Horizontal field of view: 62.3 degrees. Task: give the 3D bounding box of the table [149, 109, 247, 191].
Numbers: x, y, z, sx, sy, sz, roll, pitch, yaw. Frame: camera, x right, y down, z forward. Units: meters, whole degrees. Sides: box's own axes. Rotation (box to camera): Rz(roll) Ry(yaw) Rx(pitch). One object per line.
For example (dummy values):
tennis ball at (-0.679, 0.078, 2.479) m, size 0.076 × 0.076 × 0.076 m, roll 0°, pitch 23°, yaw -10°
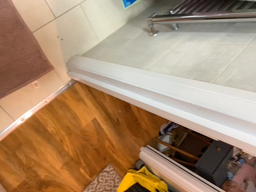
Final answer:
table at (0.600, 0.440, 1.870) m, size 0.450 × 0.640 × 0.270 m, roll -41°, pitch 125°, yaw -22°
